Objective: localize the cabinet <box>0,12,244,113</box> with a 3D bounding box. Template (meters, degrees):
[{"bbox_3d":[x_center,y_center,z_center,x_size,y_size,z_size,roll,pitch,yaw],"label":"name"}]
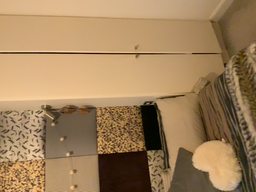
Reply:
[{"bbox_3d":[-0.110,-0.360,2.240,2.480,0.910,0.330,-2,159,-10],"label":"cabinet"}]

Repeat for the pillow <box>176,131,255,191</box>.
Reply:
[{"bbox_3d":[0.640,0.530,1.560,0.410,0.350,0.180,28,161,35],"label":"pillow"}]
